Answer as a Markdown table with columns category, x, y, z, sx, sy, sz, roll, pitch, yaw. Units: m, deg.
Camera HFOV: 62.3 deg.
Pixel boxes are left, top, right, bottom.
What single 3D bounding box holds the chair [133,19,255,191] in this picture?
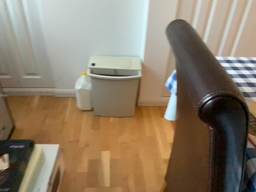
| category | x | y | z | sx | sy | sz | roll | pitch | yaw |
| --- | --- | --- | --- | --- | --- | --- | --- | --- | --- |
| chair | 0.370 | 0.330 | 0.730 | 0.620 | 1.010 | 0.480 | 0 | 36 | -5 |
